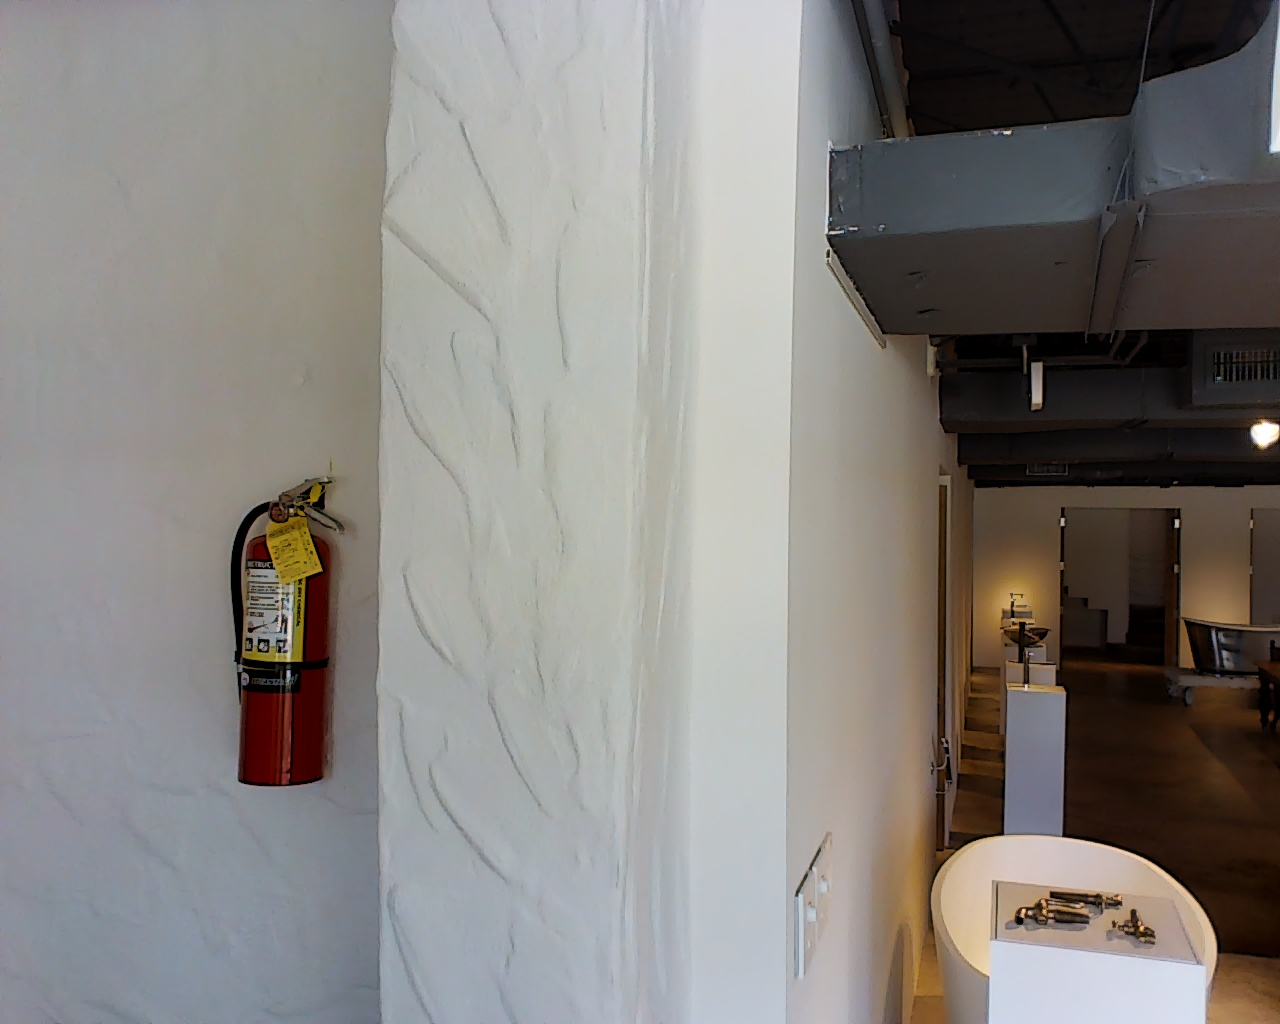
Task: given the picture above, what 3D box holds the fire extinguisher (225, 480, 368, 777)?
[{"bbox_3d":[-0.560,0.180,1.760,0.160,0.460,0.150,0,0,18],"label":"fire extinguisher"}]
